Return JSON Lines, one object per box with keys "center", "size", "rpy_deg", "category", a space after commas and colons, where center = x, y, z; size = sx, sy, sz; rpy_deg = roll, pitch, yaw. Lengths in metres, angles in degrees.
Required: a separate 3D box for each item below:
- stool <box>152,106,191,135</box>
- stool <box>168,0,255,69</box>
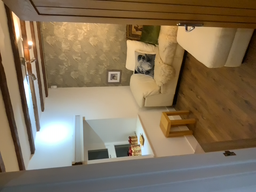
{"center": [0.640, 0.370, 3.200], "size": [0.270, 0.450, 0.310], "rpy_deg": [-113, 25, -55], "category": "stool"}
{"center": [0.890, -0.900, 2.220], "size": [0.890, 0.450, 0.940], "rpy_deg": [-113, 25, -55], "category": "stool"}
